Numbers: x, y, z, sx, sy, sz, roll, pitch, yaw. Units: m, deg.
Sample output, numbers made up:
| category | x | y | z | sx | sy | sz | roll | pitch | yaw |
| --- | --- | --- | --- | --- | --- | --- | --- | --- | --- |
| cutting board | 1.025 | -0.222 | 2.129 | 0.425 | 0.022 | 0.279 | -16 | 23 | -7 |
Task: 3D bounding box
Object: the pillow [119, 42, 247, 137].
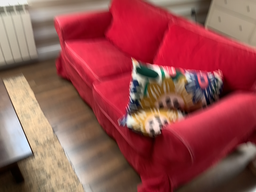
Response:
| category | x | y | z | sx | sy | sz | roll | pitch | yaw |
| --- | --- | --- | --- | --- | --- | --- | --- | --- | --- |
| pillow | 0.270 | -0.020 | 1.190 | 0.560 | 0.320 | 0.290 | 11 | 49 | -10 |
